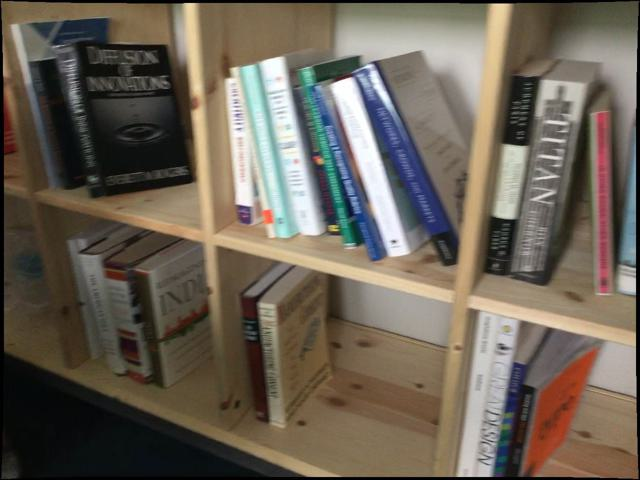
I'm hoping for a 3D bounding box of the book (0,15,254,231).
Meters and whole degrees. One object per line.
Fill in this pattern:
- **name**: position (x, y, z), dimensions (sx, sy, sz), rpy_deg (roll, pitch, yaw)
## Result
- **book**: position (-0.319, -0.231, 1.000), dimensions (0.220, 0.240, 0.410), rpy_deg (12, 31, 21)
